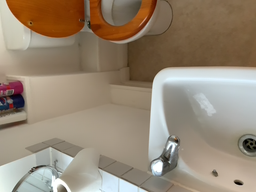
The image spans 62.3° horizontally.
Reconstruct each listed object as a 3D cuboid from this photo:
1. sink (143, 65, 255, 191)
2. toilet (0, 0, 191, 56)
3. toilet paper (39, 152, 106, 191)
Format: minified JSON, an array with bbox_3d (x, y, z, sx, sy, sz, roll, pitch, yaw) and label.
[{"bbox_3d":[0.280,0.080,0.520,0.450,0.190,0.290,8,104,37],"label":"sink"},{"bbox_3d":[-0.150,-0.450,1.130,0.670,0.830,0.450,9,104,36],"label":"toilet"},{"bbox_3d":[-0.160,0.250,0.620,0.140,0.120,0.110,2,100,38],"label":"toilet paper"}]
